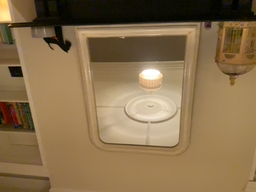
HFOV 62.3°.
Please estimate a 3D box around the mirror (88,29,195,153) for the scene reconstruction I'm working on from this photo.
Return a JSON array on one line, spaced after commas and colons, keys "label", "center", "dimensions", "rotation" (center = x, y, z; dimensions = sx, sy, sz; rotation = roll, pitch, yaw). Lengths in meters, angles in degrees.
[{"label": "mirror", "center": [0.100, -0.010, 1.720], "dimensions": [0.760, 1.010, 0.070], "rotation": [2, -158, 10]}]
